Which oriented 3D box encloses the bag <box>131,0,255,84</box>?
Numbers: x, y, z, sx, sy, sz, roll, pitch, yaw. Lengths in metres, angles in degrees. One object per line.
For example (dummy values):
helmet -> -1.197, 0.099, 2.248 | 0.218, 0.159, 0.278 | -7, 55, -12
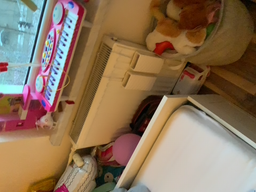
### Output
bag -> 0.400, -0.340, 1.090 | 0.360, 0.550, 0.410 | 45, 120, 33
